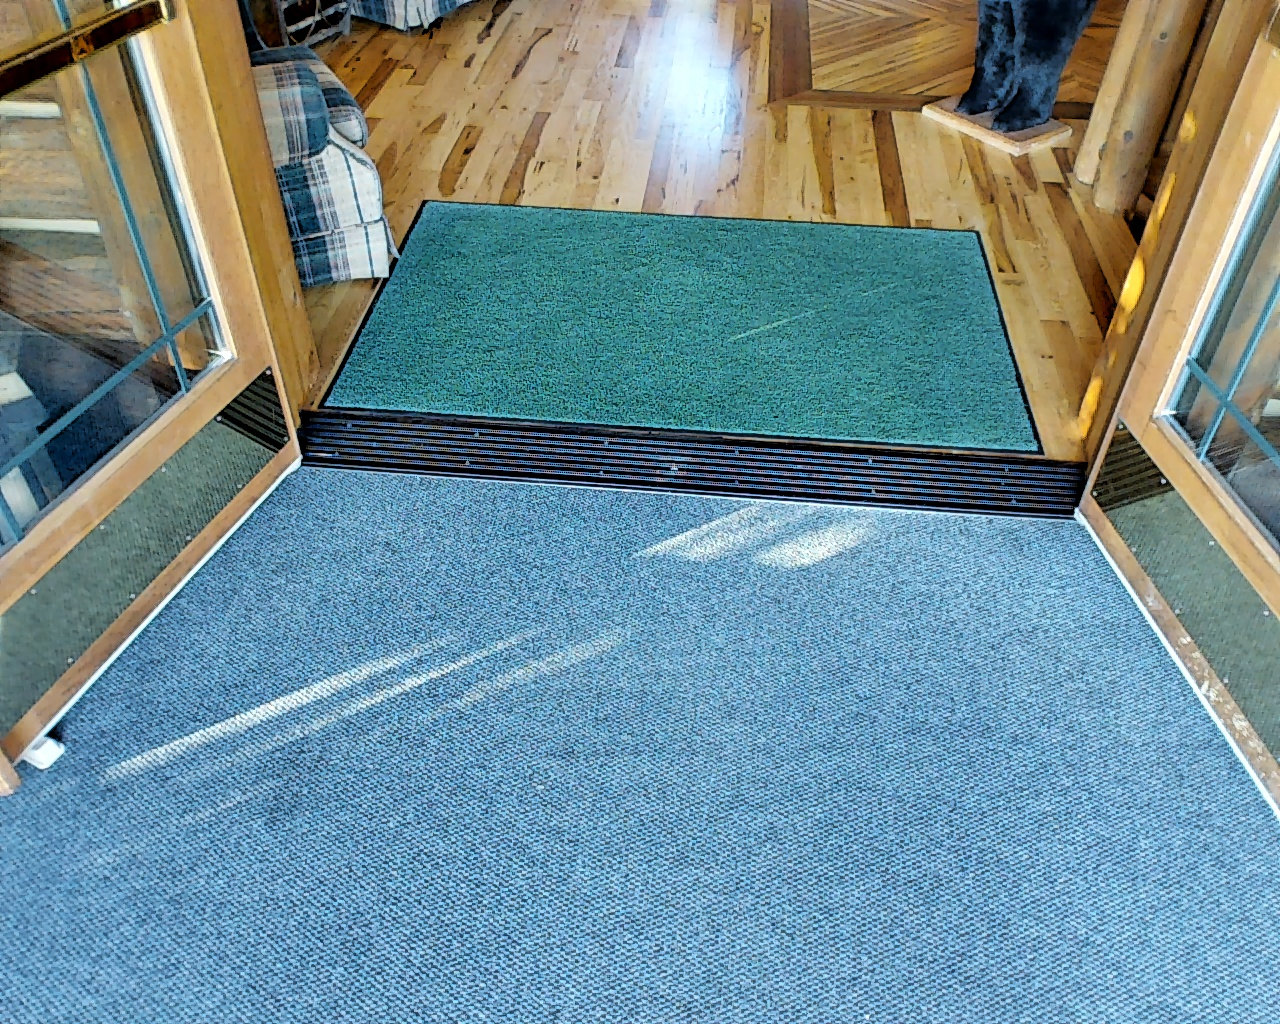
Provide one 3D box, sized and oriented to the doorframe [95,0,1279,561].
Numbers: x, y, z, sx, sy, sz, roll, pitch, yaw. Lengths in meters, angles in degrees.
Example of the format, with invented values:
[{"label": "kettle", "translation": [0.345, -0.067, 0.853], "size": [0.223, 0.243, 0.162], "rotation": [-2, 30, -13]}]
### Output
[{"label": "doorframe", "translation": [0.120, -0.970, 1.870], "size": [2.080, 2.440, 0.360], "rotation": [4, 43, 3]}]
